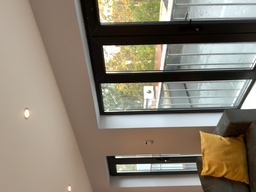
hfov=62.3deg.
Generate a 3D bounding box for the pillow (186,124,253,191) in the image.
[{"bbox_3d":[1.040,0.710,2.410,0.580,0.500,0.190,60,170,-9],"label":"pillow"}]
